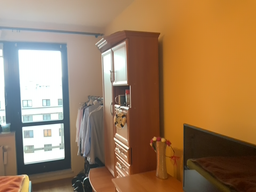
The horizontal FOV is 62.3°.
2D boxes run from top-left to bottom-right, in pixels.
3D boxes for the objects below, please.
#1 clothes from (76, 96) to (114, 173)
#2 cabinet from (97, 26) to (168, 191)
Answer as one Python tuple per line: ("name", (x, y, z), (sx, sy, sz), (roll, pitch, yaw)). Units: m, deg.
("clothes", (-0.540, 0.490, 3.220), (0.310, 0.910, 1.080), (-2, 4, -22))
("cabinet", (0.000, 0.110, 2.270), (0.390, 1.440, 0.870), (-3, 4, -25))
